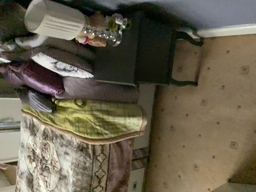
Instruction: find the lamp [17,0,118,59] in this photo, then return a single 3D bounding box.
[{"bbox_3d":[-0.320,-0.350,1.160,0.270,0.440,0.230,8,95,45],"label":"lamp"}]
